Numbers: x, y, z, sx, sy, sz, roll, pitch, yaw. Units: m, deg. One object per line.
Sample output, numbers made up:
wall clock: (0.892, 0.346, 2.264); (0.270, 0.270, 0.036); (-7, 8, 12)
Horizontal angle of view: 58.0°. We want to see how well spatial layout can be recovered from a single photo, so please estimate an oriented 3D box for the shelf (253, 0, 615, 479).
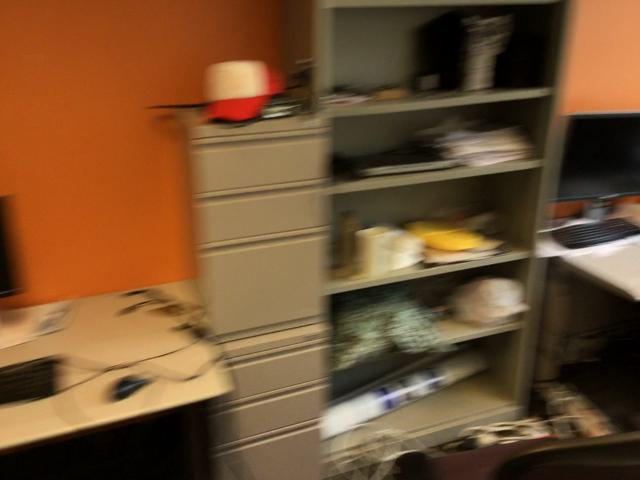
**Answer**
shelf: (0.350, -0.220, 2.080); (1.030, 2.020, 0.540); (-6, 20, -17)
